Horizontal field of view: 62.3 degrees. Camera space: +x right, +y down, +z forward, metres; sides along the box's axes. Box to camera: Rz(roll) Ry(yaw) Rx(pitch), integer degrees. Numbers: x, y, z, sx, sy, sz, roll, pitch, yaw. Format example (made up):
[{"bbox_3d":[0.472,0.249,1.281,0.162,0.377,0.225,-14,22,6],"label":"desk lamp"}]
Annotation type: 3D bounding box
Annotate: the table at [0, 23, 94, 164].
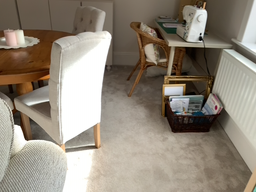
[{"bbox_3d":[-0.900,-0.110,1.820,1.110,0.750,1.110,1,30,-5],"label":"table"}]
